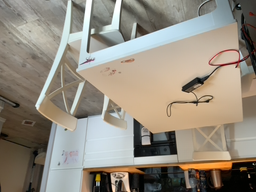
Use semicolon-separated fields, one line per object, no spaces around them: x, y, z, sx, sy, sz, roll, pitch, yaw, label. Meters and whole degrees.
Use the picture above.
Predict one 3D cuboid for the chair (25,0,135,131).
-0.270;-0.280;1.550;0.550;0.930;0.420;-7;152;13;chair
